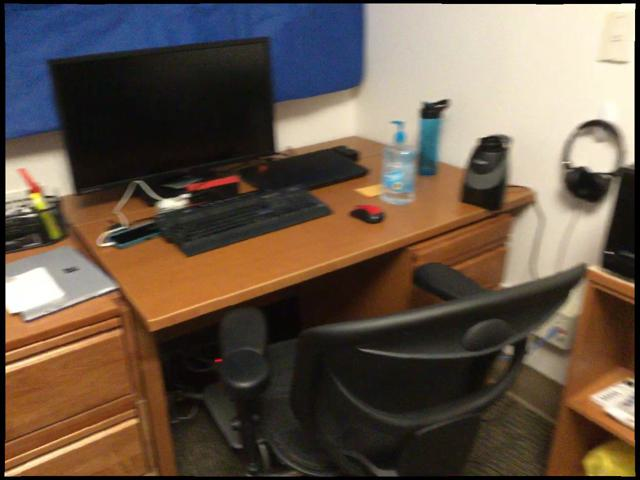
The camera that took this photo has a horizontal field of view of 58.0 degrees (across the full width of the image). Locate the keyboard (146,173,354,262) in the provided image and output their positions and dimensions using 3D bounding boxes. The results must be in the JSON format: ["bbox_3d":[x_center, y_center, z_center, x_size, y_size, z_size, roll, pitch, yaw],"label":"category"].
[{"bbox_3d":[-0.190,-0.080,1.620,0.509,0.050,0.270,-17,31,-32],"label":"keyboard"}]

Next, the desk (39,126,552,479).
[{"bbox_3d":[-0.070,0.210,1.940,1.288,0.821,0.890,-17,31,-32],"label":"desk"}]
